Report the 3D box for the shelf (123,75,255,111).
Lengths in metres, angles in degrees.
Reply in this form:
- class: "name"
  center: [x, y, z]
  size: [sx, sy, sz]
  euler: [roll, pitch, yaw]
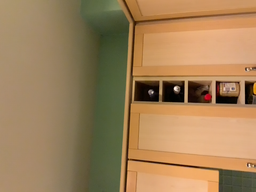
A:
- class: "shelf"
  center: [0.410, -0.010, 1.230]
  size: [0.320, 0.810, 0.150]
  euler: [29, -117, -73]
